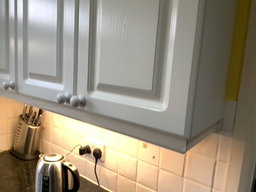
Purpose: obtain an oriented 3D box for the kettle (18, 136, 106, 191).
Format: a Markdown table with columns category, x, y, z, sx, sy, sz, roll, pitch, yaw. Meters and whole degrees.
| category | x | y | z | sx | sy | sz | roll | pitch | yaw |
| --- | --- | --- | --- | --- | --- | --- | --- | --- | --- |
| kettle | -0.300 | 0.370 | 1.000 | 0.240 | 0.240 | 0.310 | 10 | 11 | 33 |
